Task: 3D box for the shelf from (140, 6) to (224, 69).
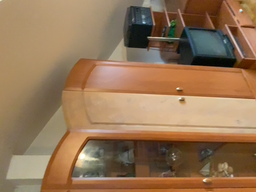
[{"bbox_3d":[0.650,-0.750,2.790,0.600,0.860,0.430,102,168,-52],"label":"shelf"}]
